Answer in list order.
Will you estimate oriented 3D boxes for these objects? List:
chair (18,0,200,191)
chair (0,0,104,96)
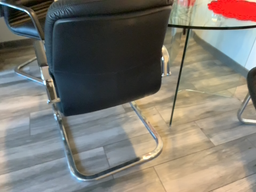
[{"bbox_3d":[-0.160,-0.130,1.150,0.580,0.950,0.670,-16,42,-20],"label":"chair"},{"bbox_3d":[-0.660,-0.630,1.750,0.660,0.950,0.570,21,43,22],"label":"chair"}]
